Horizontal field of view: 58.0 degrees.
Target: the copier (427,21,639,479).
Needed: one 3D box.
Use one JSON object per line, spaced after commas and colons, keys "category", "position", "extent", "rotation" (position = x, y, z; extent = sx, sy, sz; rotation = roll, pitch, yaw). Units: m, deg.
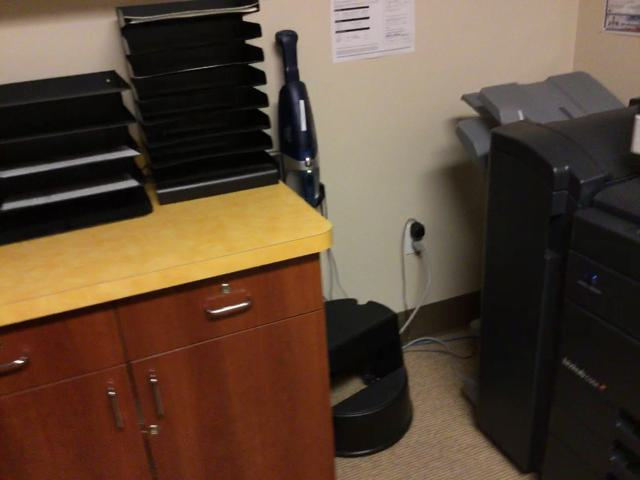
{"category": "copier", "position": [0.840, 0.140, 1.340], "extent": [0.660, 1.150, 1.120], "rotation": [-13, 24, -18]}
